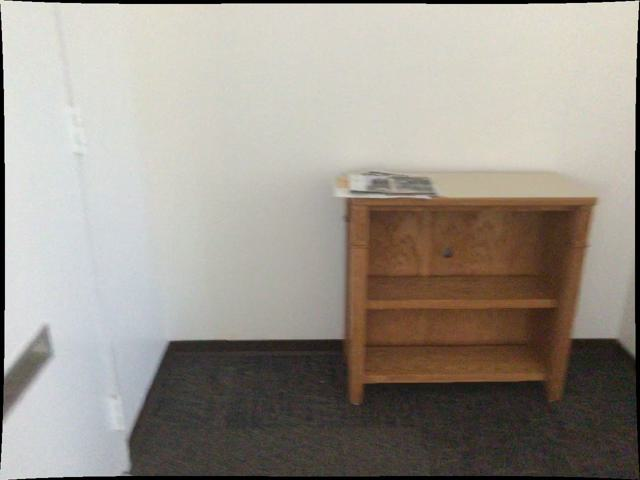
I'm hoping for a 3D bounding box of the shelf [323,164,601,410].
[{"bbox_3d":[0.429,0.160,2.040,0.809,0.771,0.370,1,21,-1],"label":"shelf"}]
